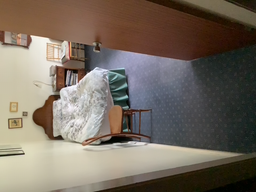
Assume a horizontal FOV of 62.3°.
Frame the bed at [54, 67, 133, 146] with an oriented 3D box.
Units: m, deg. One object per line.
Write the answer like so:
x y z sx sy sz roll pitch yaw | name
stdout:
-0.740 0.270 3.700 2.020 0.640 1.000 -16 75 59 | bed

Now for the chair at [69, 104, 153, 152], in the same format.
-0.200 0.350 2.550 0.450 0.890 0.480 -11 79 59 | chair

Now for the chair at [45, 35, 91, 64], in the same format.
-1.270 -0.960 4.500 0.400 0.850 0.390 -14 77 59 | chair

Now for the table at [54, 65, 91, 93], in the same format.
-1.170 -0.340 4.440 0.440 0.660 0.470 -16 75 59 | table
